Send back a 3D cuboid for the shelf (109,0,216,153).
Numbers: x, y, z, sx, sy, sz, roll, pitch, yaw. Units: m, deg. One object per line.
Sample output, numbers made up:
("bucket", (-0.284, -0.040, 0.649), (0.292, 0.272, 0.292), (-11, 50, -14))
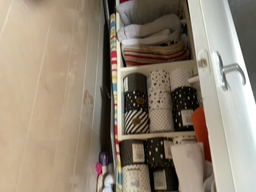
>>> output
("shelf", (0.160, -0.240, 1.250), (0.440, 1.070, 0.330), (-3, 156, 7))
